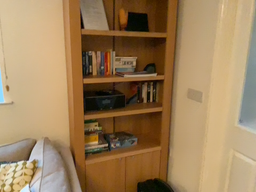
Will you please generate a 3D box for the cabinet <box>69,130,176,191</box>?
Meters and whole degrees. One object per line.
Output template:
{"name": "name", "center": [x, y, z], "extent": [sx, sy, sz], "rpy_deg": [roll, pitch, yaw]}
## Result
{"name": "cabinet", "center": [-0.060, 0.710, 2.060], "extent": [0.940, 0.540, 0.380], "rpy_deg": [-3, 15, -23]}
